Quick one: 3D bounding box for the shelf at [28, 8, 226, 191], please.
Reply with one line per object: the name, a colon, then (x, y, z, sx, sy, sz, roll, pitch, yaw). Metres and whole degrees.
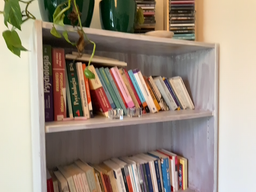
shelf: (0.020, 0.630, 1.030, 0.850, 1.820, 0.360, -2, 3, -28)

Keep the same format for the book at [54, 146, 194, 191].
book: (0.000, 0.470, 1.120, 0.700, 0.260, 0.250, -2, 3, -28)
